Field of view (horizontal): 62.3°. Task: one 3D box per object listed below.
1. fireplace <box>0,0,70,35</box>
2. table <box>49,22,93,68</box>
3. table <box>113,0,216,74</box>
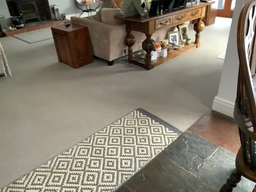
[{"bbox_3d":[-2.780,-2.610,5.880,1.810,1.230,1.030,-28,39,-34],"label":"fireplace"},{"bbox_3d":[-0.910,-0.830,3.400,0.500,0.560,0.370,24,41,37],"label":"table"},{"bbox_3d":[0.660,-1.070,3.440,1.810,0.750,0.540,-28,39,-34],"label":"table"}]
